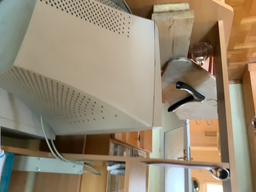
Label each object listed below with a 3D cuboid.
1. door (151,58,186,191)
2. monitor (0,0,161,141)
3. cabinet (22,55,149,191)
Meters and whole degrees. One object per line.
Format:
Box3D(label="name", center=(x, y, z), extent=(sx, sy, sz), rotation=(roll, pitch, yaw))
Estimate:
Box3D(label="door", center=(0.480, 0.650, 2.680), extent=(0.100, 2.050, 0.900), rotation=(6, 161, -8))
Box3D(label="monitor", center=(-0.180, -0.100, 0.660), extent=(0.400, 0.410, 0.440), rotation=(-9, 157, 33))
Box3D(label="cabinet", center=(-0.190, 0.630, 1.440), extent=(0.460, 1.480, 0.930), rotation=(-2, 161, 16))
